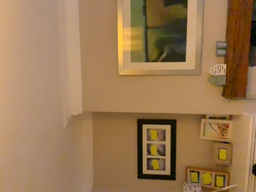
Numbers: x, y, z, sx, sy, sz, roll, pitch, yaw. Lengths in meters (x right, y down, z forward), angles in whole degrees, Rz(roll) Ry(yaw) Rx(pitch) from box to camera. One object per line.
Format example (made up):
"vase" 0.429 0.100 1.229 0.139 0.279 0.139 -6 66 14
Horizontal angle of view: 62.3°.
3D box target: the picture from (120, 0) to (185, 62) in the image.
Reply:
"picture" 0.250 -0.780 2.240 0.030 0.670 0.830 -56 -34 -80

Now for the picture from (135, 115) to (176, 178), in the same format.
"picture" 0.360 0.680 2.850 0.070 0.530 0.840 -58 -32 -79
